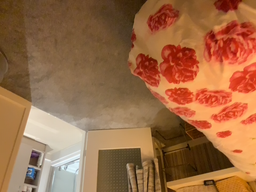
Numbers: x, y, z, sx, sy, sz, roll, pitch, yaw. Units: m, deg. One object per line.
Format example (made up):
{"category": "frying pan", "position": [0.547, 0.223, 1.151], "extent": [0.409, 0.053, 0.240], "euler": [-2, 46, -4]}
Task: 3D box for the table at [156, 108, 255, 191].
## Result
{"category": "table", "position": [0.850, 0.660, 2.440], "extent": [0.860, 0.630, 0.470], "euler": [-27, 136, 28]}
